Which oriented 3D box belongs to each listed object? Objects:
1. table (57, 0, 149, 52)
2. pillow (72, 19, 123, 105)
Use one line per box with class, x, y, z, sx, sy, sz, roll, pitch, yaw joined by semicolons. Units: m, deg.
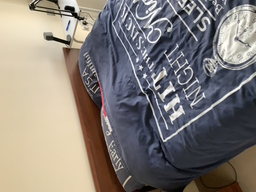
table;-0.310;-0.930;2.330;0.390;0.740;0.790;-57;45;44
pillow;-0.280;-0.280;1.750;0.360;0.180;0.600;-55;47;46
